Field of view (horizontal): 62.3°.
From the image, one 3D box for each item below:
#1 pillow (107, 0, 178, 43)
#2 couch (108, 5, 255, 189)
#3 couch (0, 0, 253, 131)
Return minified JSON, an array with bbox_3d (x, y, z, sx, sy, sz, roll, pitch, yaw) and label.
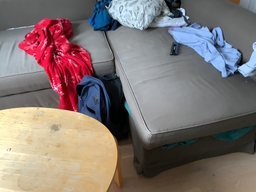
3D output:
[{"bbox_3d":[0.100,-0.670,1.780,0.450,0.210,0.460,-11,40,-11],"label":"pillow"},{"bbox_3d":[0.420,-0.040,1.240,0.920,0.670,0.650,-10,40,-10],"label":"couch"},{"bbox_3d":[-0.500,-0.410,1.700,2.440,0.720,0.930,-10,40,-9],"label":"couch"}]
